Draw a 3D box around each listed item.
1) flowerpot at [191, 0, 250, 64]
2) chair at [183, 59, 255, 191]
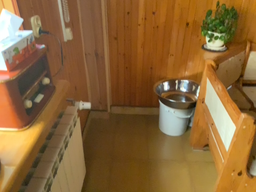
[{"bbox_3d":[0.700,-0.520,1.680,0.270,0.450,0.250,2,33,2],"label":"flowerpot"},{"bbox_3d":[0.730,0.290,1.410,0.440,0.850,0.690,1,33,0],"label":"chair"}]
